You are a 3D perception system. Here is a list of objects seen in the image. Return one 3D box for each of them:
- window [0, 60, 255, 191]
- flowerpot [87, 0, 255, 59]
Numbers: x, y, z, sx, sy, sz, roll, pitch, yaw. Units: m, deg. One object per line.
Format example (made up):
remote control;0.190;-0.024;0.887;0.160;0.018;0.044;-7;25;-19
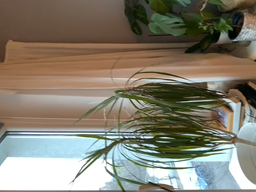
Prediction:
window;-0.080;0.420;0.370;2.430;1.560;0.140;-95;9;-62
flowerpot;0.310;-0.600;1.180;0.570;1.000;0.600;-95;9;-63
